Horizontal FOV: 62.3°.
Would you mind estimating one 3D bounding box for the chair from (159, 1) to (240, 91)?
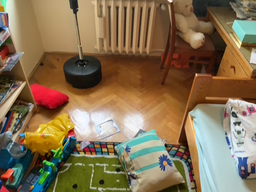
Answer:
[{"bbox_3d":[0.660,-0.500,2.190,0.550,0.760,0.440,3,41,1],"label":"chair"}]

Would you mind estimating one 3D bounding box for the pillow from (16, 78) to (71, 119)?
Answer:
[{"bbox_3d":[-0.800,0.010,2.020,0.390,0.100,0.300,27,46,26],"label":"pillow"}]

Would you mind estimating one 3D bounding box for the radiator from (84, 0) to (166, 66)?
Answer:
[{"bbox_3d":[-0.040,-0.750,2.400,0.800,0.780,0.230,2,41,-1],"label":"radiator"}]
